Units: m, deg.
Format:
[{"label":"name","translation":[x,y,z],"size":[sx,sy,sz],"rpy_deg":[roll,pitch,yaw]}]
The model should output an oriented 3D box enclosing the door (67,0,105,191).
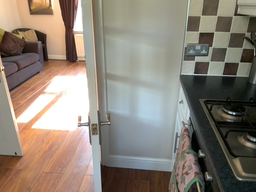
[{"label":"door","translation":[-0.210,-0.150,1.220],"size":[0.090,2.030,0.860],"rpy_deg":[-2,25,-7]}]
